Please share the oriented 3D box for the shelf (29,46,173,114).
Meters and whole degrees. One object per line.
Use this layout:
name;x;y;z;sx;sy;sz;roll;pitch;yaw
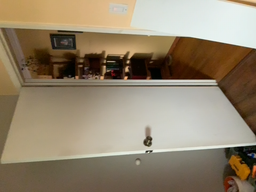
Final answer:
shelf;-0.490;-0.200;3.970;1.380;2.210;0.530;113;154;-59
